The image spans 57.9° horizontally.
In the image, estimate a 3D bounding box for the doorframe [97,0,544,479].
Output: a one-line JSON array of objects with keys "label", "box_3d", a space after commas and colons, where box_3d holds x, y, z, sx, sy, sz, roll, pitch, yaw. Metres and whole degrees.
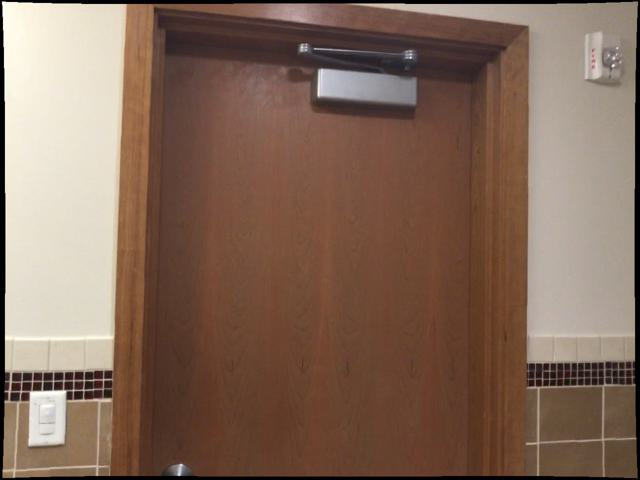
[{"label": "doorframe", "box_3d": [0.030, 0.440, 1.490, 1.109, 2.172, 0.140, -1, -2, -11]}]

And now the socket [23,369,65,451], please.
[{"label": "socket", "box_3d": [-0.619, 0.380, 1.300, 0.080, 0.170, 0.030, -1, -2, -11]}]

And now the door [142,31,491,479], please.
[{"label": "door", "box_3d": [0.010, 0.501, 1.560, 0.919, 2.062, 0.090, -1, -2, -11]}]
